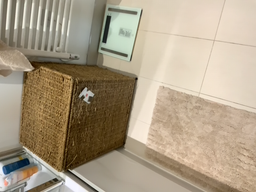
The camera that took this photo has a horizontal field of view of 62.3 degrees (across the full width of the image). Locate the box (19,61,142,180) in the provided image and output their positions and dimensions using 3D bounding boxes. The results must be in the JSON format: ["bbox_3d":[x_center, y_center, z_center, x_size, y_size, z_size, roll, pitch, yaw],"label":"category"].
[{"bbox_3d":[-0.280,0.090,1.380,0.390,0.630,0.540,17,104,32],"label":"box"}]

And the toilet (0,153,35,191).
[{"bbox_3d":[-0.690,0.490,1.220,0.120,0.240,0.220,18,105,32],"label":"toilet"}]
